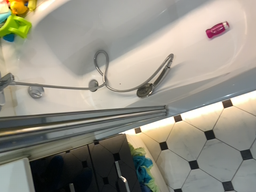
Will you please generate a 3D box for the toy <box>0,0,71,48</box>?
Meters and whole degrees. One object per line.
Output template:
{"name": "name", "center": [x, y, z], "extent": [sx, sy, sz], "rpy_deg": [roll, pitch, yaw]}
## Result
{"name": "toy", "center": [-0.510, -0.420, 0.960], "extent": [0.560, 0.180, 0.150], "rpy_deg": [-20, 80, 26]}
